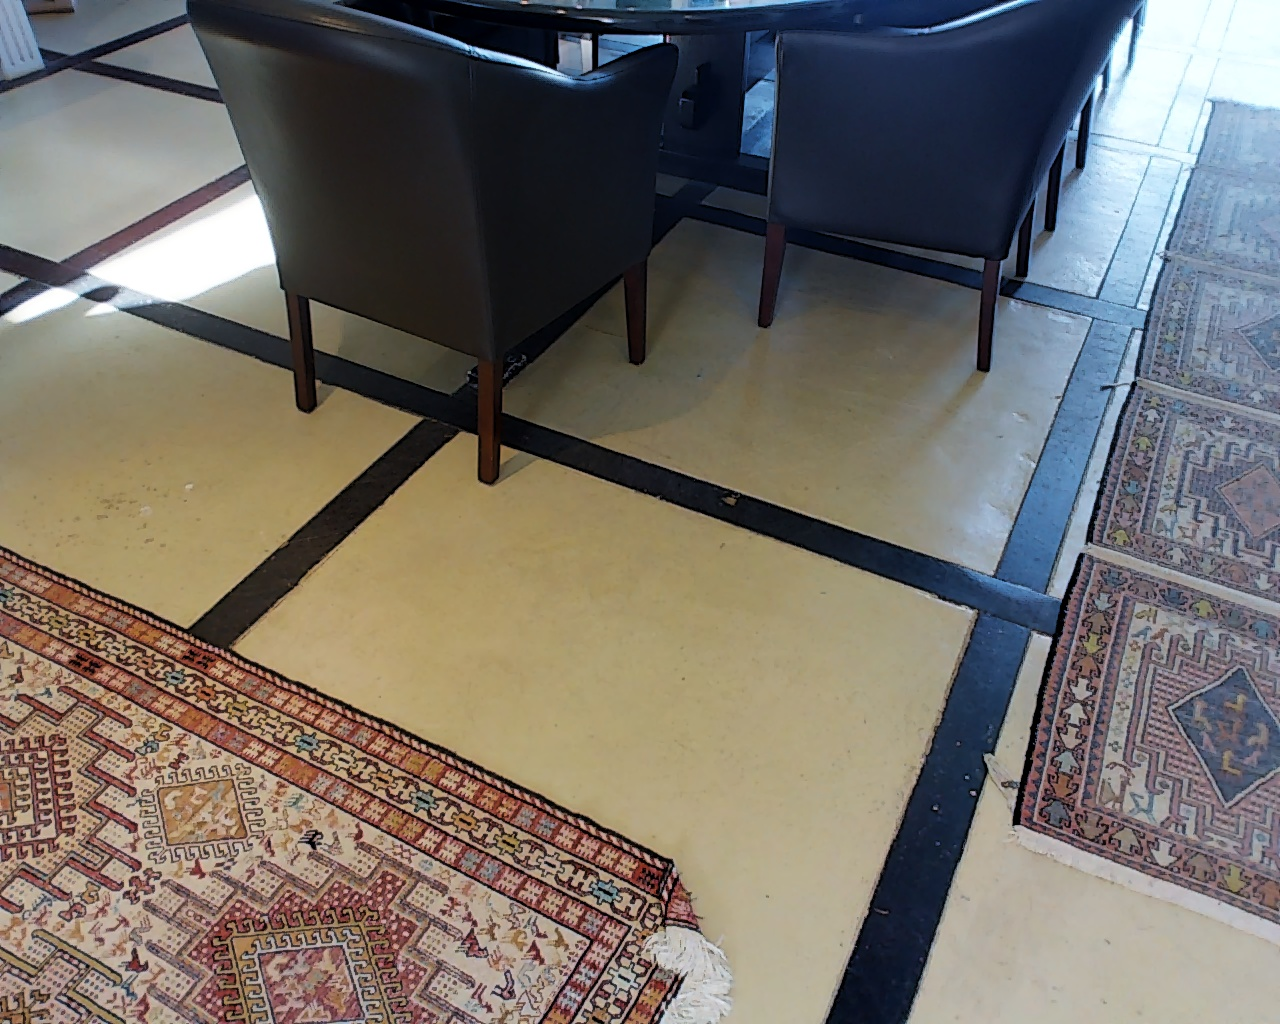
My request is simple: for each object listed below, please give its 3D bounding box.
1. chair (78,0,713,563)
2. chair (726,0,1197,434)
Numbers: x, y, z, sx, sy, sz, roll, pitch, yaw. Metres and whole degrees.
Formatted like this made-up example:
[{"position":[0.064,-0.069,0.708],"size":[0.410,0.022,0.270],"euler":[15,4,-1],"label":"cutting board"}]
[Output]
[{"position":[-0.350,-0.550,1.930],"size":[0.690,0.860,0.710],"euler":[20,45,20],"label":"chair"},{"position":[0.670,-0.790,2.230],"size":[0.690,0.840,0.720],"euler":[20,45,20],"label":"chair"}]
